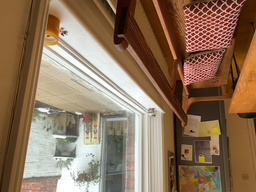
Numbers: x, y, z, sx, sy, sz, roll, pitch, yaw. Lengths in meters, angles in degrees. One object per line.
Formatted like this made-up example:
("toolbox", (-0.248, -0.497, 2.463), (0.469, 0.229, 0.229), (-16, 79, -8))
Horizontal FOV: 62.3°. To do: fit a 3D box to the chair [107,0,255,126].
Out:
("chair", (0.500, -0.360, 1.520), (0.500, 0.860, 1.850), (-6, 162, 20))
